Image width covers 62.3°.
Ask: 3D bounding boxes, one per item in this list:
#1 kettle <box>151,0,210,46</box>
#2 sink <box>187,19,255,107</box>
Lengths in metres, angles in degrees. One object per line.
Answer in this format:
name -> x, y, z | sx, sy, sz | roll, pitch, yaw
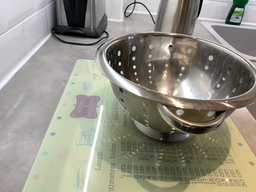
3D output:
kettle -> 0.200, -0.360, 0.840 | 0.170, 0.250, 0.180 | 5, 34, -2
sink -> 0.650, -0.180, 1.070 | 0.540, 0.220, 0.510 | 5, 34, -3
